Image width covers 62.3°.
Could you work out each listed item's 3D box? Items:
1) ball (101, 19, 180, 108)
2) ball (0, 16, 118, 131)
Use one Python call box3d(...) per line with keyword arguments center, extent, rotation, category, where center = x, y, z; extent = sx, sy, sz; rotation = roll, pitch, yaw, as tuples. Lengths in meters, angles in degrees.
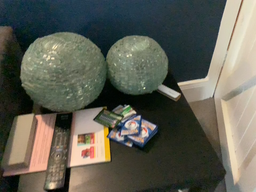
box3d(center=(0.030, -0.120, 0.750), extent=(0.220, 0.190, 0.230), rotation=(-7, 44, -4), category="ball")
box3d(center=(-0.210, -0.080, 0.690), extent=(0.300, 0.230, 0.240), rotation=(-11, 44, -8), category="ball")
